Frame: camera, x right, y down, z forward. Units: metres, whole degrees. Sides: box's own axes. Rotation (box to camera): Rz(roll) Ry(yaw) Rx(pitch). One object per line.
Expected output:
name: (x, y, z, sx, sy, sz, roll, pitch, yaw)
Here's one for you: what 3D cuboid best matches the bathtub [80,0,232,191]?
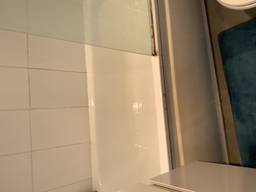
bathtub: (0.130, -0.110, 1.450, 0.750, 0.520, 1.610, -10, 82, 47)
